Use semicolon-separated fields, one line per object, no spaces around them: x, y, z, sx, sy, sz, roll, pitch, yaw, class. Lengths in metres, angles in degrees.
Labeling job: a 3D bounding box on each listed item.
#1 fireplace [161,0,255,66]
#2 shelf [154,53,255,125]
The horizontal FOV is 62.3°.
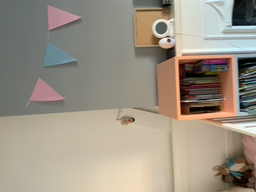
0.790;-0.730;1.590;0.260;1.040;0.930;-171;78;-82;fireplace
0.790;-0.070;1.410;0.390;1.150;0.370;-167;74;-82;shelf
